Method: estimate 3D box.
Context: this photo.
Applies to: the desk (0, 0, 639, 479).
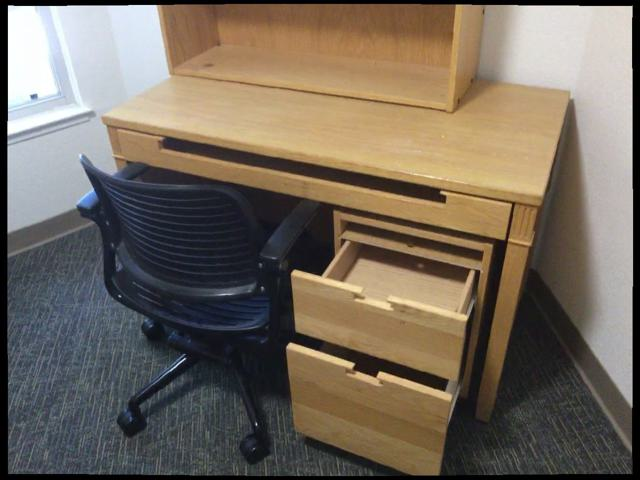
[{"bbox_3d":[0.040,-0.190,1.950,1.268,1.392,1.361,-2,36,-1],"label":"desk"}]
